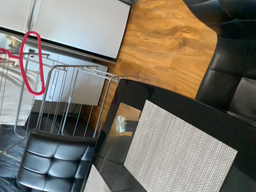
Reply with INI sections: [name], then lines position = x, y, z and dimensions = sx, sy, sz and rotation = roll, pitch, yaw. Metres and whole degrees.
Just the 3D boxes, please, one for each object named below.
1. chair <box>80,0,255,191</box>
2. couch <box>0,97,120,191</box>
[chair]
position = 0.430, -0.120, 0.720
dimensions = 0.420, 0.960, 0.640
rotation = 23, 101, 51
[couch]
position = -0.900, 0.910, 2.240
dimensions = 0.950, 0.900, 1.490
rotation = 29, 106, 50
